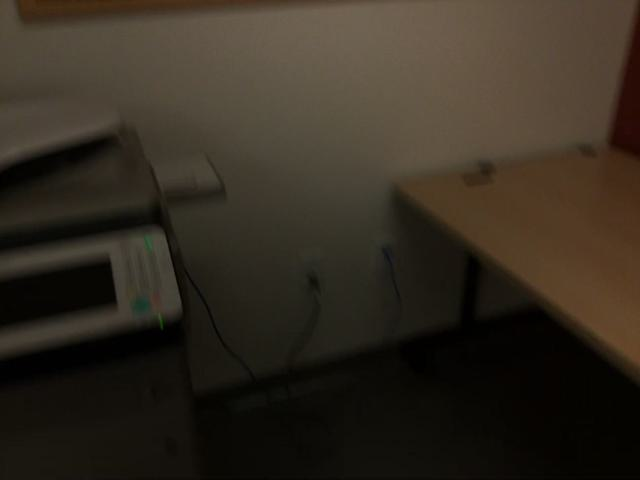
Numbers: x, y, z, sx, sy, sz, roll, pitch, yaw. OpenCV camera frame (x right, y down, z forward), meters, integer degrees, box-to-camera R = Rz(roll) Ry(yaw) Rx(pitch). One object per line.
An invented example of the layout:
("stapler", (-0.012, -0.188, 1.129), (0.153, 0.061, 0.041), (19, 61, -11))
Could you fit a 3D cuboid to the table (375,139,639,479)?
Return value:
("table", (0.750, 0.320, 1.370), (0.770, 0.710, 1.240), (-10, 28, -17))
